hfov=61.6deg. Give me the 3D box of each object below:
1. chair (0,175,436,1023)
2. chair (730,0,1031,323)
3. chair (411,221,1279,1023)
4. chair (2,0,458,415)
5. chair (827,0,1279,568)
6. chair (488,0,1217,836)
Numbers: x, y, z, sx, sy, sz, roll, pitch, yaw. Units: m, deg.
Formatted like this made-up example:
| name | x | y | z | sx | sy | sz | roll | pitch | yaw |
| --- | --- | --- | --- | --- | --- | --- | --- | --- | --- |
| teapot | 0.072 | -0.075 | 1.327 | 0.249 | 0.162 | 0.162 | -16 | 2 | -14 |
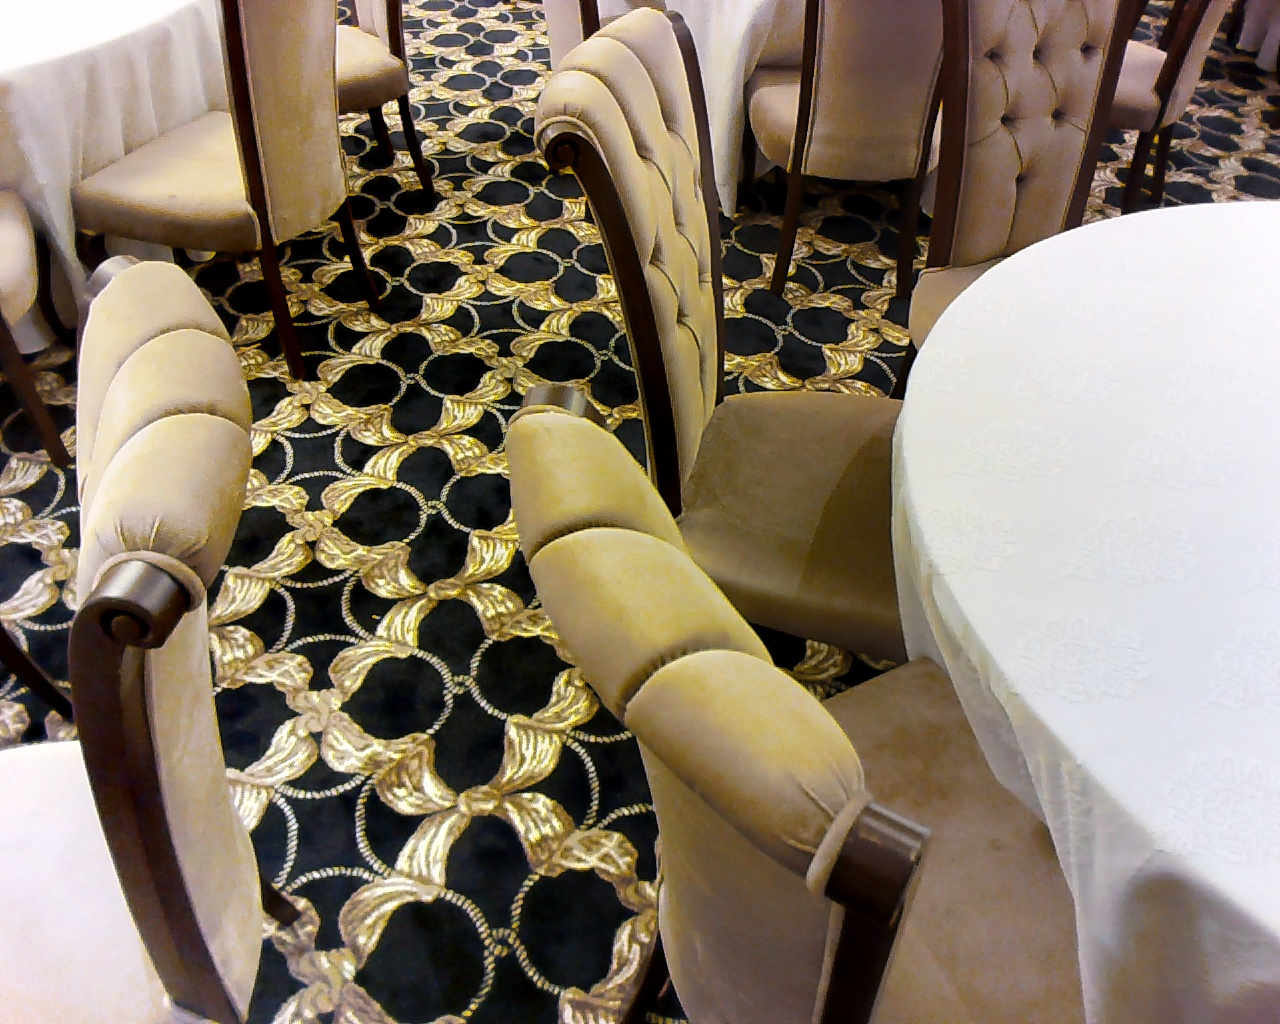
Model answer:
| name | x | y | z | sx | sy | sz | roll | pitch | yaw |
| --- | --- | --- | --- | --- | --- | --- | --- | --- | --- |
| chair | -0.670 | 0.360 | 1.130 | 0.760 | 1.110 | 0.650 | -13 | 43 | -15 |
| chair | 0.610 | -1.150 | 2.840 | 0.620 | 1.080 | 0.590 | 6 | 42 | 7 |
| chair | 0.250 | 0.380 | 1.120 | 0.710 | 1.070 | 0.600 | -14 | 43 | -16 |
| chair | -0.920 | -0.910 | 2.560 | 0.640 | 1.090 | 0.590 | 17 | 44 | 18 |
| chair | 0.860 | -0.550 | 2.180 | 0.620 | 1.080 | 0.670 | -9 | 42 | -10 |
| chair | 0.260 | -0.120 | 1.690 | 0.750 | 1.080 | 0.600 | 8 | 42 | 9 |
